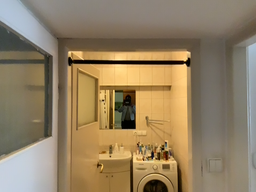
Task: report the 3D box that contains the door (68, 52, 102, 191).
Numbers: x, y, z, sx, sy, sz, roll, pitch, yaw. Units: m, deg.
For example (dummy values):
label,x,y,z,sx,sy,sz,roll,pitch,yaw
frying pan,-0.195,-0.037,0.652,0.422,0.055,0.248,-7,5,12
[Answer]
label,x,y,z,sx,sy,sz,roll,pitch,yaw
door,-0.320,0.720,1.690,0.080,1.990,0.680,0,-1,4

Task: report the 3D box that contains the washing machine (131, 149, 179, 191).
label,x,y,z,sx,sy,sz,roll,pitch,yaw
washing machine,0.360,1.280,3.130,0.610,0.840,0.660,0,-1,-1
